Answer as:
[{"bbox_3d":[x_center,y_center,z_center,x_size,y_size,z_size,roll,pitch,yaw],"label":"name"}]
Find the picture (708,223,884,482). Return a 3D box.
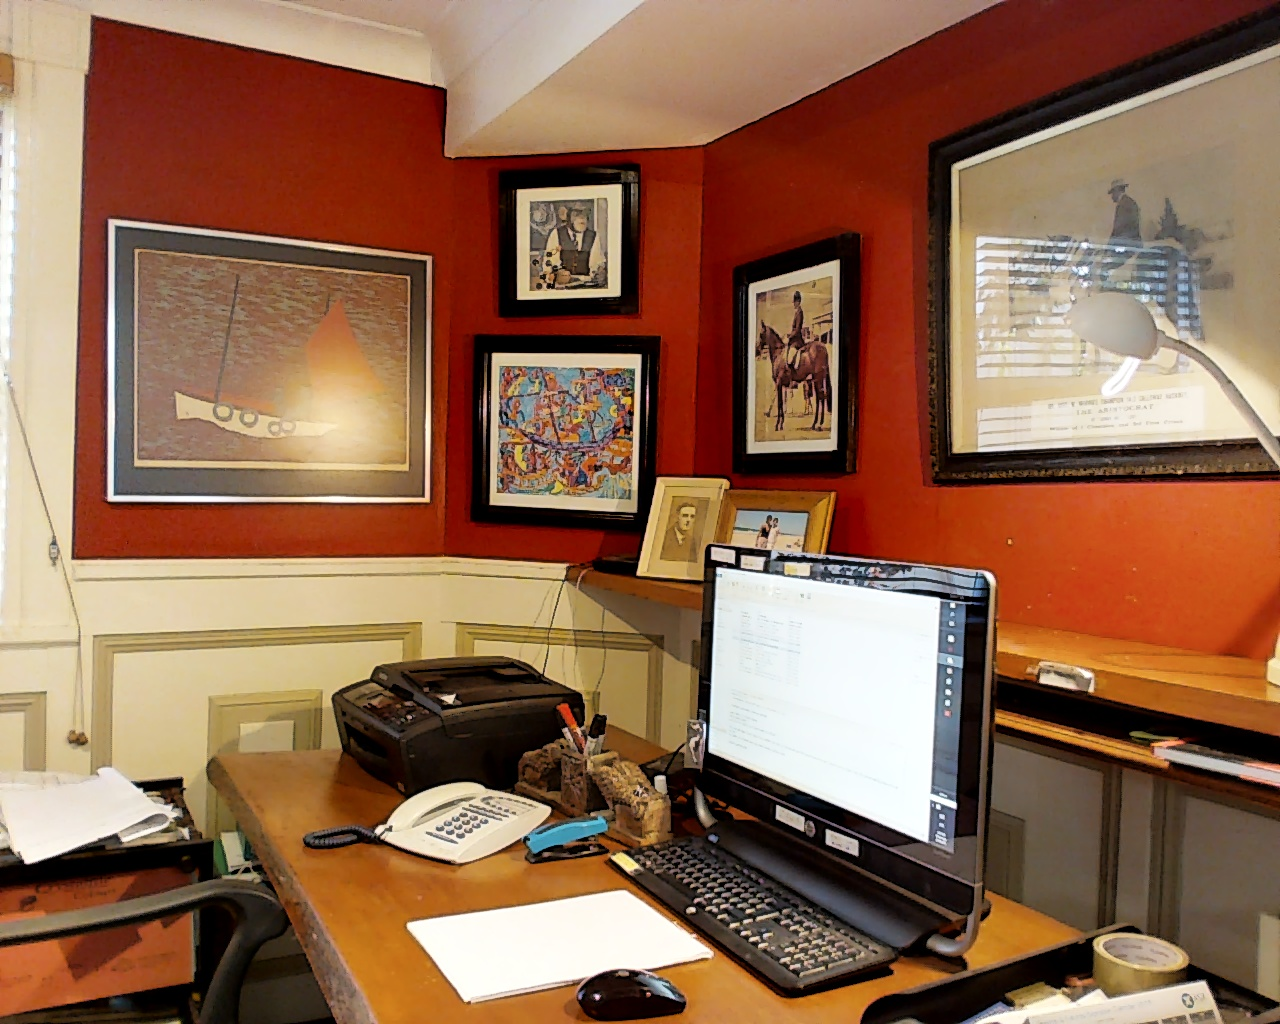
[{"bbox_3d":[0.300,-0.300,2.160,0.070,0.470,0.420,1,1,-34],"label":"picture"}]

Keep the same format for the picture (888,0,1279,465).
[{"bbox_3d":[0.650,-0.340,1.540,0.110,0.540,0.700,1,1,-29],"label":"picture"}]

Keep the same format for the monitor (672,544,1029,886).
[{"bbox_3d":[0.240,0.230,1.470,0.050,0.330,0.670,1,1,-29],"label":"monitor"}]

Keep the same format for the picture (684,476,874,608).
[{"bbox_3d":[0.260,0.050,2.090,0.180,0.230,0.360,1,1,-29],"label":"picture"}]

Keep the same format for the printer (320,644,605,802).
[{"bbox_3d":[-0.350,0.380,2.050,0.400,0.180,0.440,1,1,-30],"label":"printer"}]

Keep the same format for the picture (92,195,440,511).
[{"bbox_3d":[-0.830,-0.330,2.450,0.730,0.640,0.090,1,1,-30],"label":"picture"}]

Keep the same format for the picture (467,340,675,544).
[{"bbox_3d":[-0.170,-0.170,2.560,0.500,0.470,0.030,2,1,17],"label":"picture"}]
